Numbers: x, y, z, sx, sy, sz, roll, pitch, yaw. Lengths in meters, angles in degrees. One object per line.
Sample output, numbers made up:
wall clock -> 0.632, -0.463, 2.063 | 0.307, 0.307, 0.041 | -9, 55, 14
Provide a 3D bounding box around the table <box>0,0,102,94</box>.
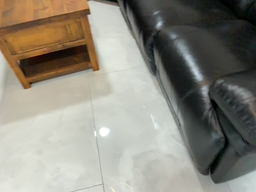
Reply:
table -> -0.680, -0.660, 1.730 | 0.630, 0.500, 1.110 | -16, 51, -9
